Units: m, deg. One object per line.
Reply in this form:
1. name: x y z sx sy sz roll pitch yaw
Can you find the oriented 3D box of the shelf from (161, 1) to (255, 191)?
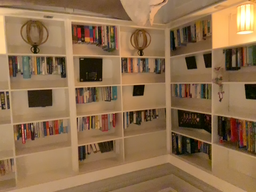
1. shelf: 0.990 0.110 2.580 0.280 2.000 1.530 -4 -174 -27
